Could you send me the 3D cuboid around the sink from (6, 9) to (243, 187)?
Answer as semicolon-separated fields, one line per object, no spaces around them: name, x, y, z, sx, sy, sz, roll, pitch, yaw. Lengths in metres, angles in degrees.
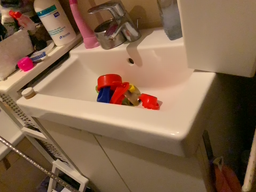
sink;-0.020;-0.050;0.660;0.590;0.170;0.420;6;45;38
